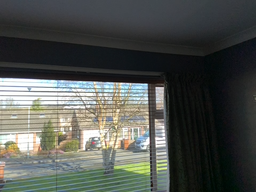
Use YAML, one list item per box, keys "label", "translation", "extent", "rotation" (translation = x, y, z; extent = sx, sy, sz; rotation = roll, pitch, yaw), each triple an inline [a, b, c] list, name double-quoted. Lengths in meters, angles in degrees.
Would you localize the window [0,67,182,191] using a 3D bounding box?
- label: "window"
  translation: [-0.690, 0.550, 2.280]
  extent: [2.800, 1.620, 0.290]
  rotation: [0, -5, -22]
